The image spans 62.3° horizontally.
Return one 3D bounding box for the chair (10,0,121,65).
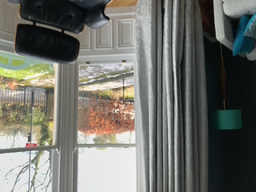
[{"bbox_3d":[-0.580,-0.820,1.920,0.670,0.820,0.800,5,171,-40],"label":"chair"}]
